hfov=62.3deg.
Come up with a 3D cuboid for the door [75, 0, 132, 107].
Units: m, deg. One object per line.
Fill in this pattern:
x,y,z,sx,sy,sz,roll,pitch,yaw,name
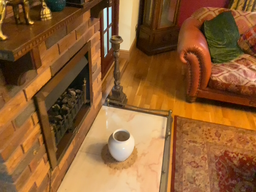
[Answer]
-0.180,-1.070,2.130,0.240,2.080,1.160,11,37,8,door
